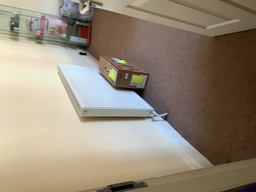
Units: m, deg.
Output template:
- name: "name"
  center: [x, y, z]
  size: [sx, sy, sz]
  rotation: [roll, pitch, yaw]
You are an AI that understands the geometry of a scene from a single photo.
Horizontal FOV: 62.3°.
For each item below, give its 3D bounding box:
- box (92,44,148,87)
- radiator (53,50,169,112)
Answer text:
- name: "box"
  center: [-0.120, -0.370, 2.470]
  size: [0.650, 0.360, 0.260]
  rotation: [46, 126, 51]
- name: "radiator"
  center: [-0.270, -0.200, 2.340]
  size: [1.270, 0.870, 0.130]
  rotation: [43, 121, 53]
